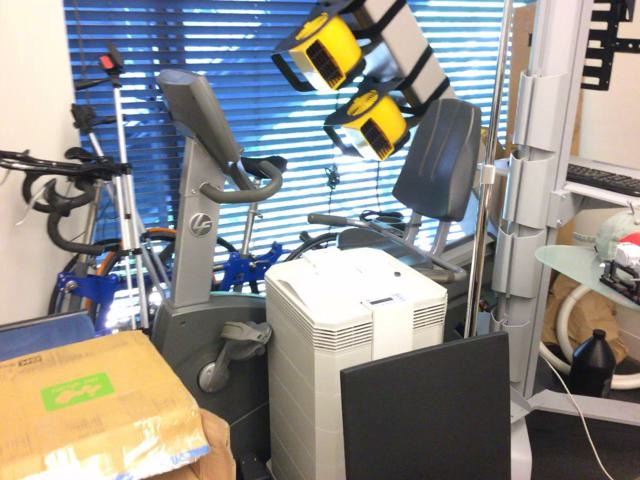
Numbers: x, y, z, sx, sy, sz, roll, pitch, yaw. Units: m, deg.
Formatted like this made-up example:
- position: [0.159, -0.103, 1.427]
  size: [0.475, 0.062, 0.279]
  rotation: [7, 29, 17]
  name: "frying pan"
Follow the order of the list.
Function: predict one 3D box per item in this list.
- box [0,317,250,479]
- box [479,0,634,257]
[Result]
- position: [-0.480, 0.430, 1.210]
  size: [0.480, 0.270, 0.550]
  rotation: [-11, 18, -29]
  name: "box"
- position: [0.970, -0.490, 2.430]
  size: [0.440, 1.020, 0.330]
  rotation: [-9, 17, -24]
  name: "box"
